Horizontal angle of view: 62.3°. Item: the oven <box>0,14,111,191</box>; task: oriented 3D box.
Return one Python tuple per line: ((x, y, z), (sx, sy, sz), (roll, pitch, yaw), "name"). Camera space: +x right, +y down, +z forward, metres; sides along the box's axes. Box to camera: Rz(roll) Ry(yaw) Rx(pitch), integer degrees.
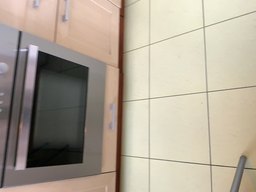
((-0.540, 0.070, 1.080), (0.590, 0.650, 0.610), (-6, 77, 40), "oven")
